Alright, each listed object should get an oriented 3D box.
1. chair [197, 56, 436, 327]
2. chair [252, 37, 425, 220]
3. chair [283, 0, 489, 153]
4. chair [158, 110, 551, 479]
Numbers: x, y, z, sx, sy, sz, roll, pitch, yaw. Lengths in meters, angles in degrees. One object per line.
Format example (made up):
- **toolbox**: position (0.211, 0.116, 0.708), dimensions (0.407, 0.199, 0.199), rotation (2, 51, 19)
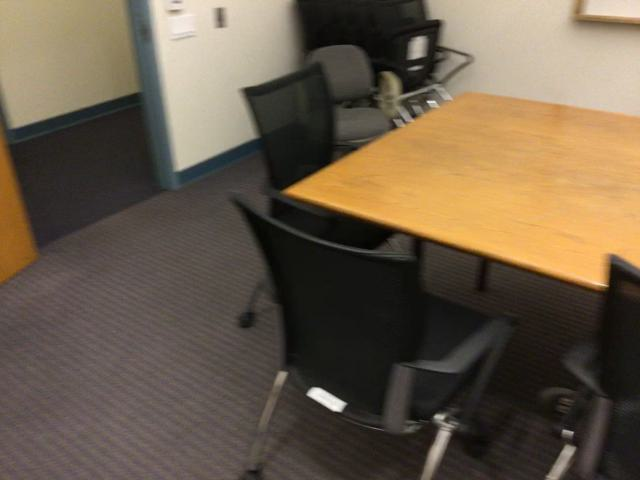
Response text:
- **chair**: position (0.030, -0.210, 2.020), dimensions (0.510, 0.680, 0.590), rotation (17, 37, 36)
- **chair**: position (0.140, -0.660, 3.260), dimensions (0.620, 0.760, 0.690), rotation (17, 37, 36)
- **chair**: position (0.420, -1.170, 3.710), dimensions (1.070, 0.910, 0.630), rotation (17, 37, 36)
- **chair**: position (0.120, 0.150, 1.360), dimensions (0.540, 0.680, 0.630), rotation (17, 37, 36)
